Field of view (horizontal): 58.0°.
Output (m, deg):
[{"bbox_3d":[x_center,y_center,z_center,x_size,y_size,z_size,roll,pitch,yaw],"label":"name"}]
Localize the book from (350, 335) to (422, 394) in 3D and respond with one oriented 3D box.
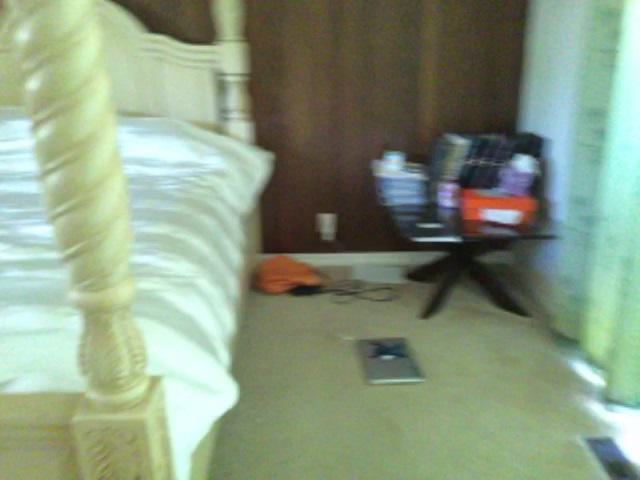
[{"bbox_3d":[0.260,0.500,2.360,0.240,0.050,0.360,-1,20,-2],"label":"book"}]
